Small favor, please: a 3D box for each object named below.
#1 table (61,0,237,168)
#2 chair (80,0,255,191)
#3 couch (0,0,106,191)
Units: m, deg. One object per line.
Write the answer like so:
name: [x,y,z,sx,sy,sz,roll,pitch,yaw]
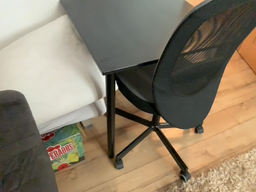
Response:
table: [0.050,-0.140,1.380,0.680,0.750,0.690,-17,48,-21]
chair: [0.200,-0.090,1.110,0.630,1.060,0.720,-18,48,-21]
couch: [-0.730,-0.040,1.030,1.090,0.990,0.580,-17,48,-21]
